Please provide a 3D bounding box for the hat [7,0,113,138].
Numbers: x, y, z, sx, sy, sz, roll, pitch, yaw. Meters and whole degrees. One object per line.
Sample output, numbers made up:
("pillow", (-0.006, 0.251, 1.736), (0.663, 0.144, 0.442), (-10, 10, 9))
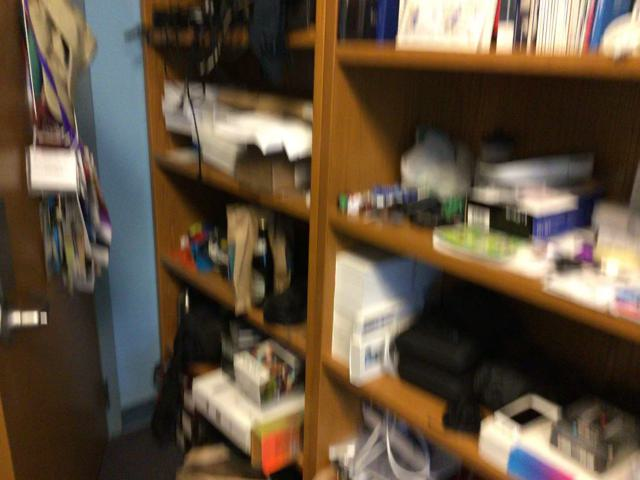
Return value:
("hat", (-0.570, -0.420, 1.270), (0.170, 0.370, 0.130), (-9, 20, -39))
